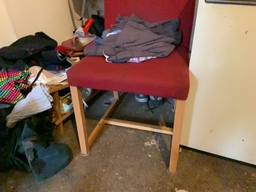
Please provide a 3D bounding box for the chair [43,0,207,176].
[{"bbox_3d":[0.050,-0.200,1.020,0.510,0.910,0.580,7,33,14],"label":"chair"}]
